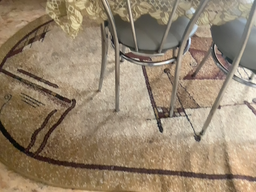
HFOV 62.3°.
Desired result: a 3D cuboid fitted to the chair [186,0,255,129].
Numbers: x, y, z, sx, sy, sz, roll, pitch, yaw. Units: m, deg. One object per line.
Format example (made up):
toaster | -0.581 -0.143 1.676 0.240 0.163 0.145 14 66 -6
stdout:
chair | 0.550 -0.260 0.850 0.420 0.900 0.400 4 55 4
